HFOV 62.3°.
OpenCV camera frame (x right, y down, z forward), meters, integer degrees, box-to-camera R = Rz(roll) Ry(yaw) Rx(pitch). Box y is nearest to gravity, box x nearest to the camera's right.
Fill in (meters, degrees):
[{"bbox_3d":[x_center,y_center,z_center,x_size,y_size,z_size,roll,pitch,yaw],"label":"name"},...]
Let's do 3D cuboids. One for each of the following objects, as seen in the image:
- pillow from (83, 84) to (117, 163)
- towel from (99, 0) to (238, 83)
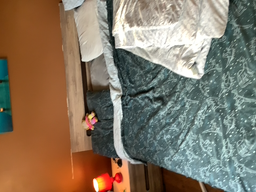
[{"bbox_3d":[-0.300,0.260,2.170,0.430,0.140,0.730,-6,88,60],"label":"pillow"},{"bbox_3d":[0.120,-0.560,1.330,1.140,0.140,0.630,37,125,53],"label":"towel"}]
